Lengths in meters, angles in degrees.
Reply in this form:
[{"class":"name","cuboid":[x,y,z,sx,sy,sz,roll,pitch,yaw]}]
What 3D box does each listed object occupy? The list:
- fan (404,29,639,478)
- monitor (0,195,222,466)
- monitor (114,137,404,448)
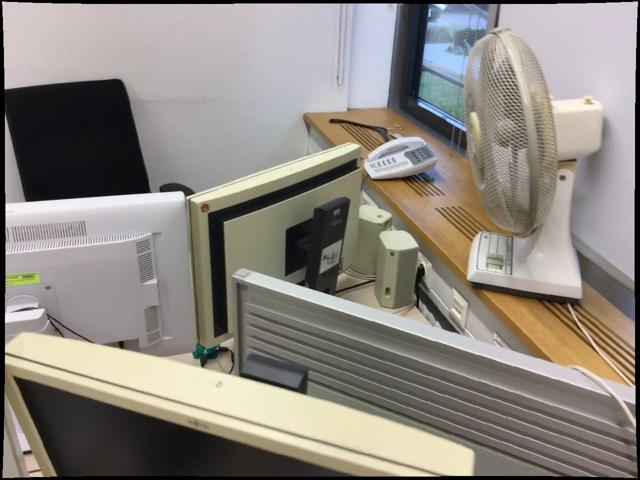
[{"class":"fan","cuboid":[0.420,0.050,1.350,0.270,0.951,0.440,0,30,-4]},{"class":"monitor","cuboid":[-0.559,0.190,1.140,0.679,0.450,0.210,-6,31,-14]},{"class":"monitor","cuboid":[-0.100,0.080,1.380,0.220,0.450,0.670,25,37,33]}]
